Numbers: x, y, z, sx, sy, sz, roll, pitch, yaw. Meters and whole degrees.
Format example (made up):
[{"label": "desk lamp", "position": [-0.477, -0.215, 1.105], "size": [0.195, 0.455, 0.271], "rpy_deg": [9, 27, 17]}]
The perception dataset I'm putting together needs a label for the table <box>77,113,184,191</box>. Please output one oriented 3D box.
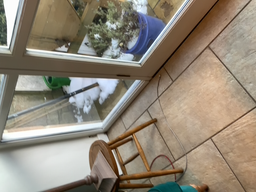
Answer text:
[{"label": "table", "position": [0.000, 0.390, 1.370], "size": [0.390, 0.450, 0.380], "rpy_deg": [-47, 58, 40]}]
